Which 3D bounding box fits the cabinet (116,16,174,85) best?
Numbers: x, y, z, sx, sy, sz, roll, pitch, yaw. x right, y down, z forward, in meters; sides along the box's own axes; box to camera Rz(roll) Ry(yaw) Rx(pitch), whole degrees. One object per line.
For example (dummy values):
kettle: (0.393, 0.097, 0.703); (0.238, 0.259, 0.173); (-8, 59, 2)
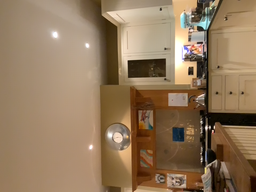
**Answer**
cabinet: (0.300, -0.740, 3.650); (0.350, 0.930, 1.070); (-20, -71, -74)
